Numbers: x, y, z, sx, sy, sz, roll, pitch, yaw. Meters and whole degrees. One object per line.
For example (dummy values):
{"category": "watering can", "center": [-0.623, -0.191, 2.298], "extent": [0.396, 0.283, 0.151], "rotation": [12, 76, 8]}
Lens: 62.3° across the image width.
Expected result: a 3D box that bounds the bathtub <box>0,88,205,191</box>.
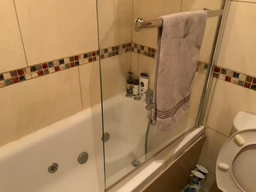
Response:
{"category": "bathtub", "center": [-0.340, 0.580, 1.170], "extent": [0.690, 0.570, 1.630], "rotation": [27, 38, 37]}
